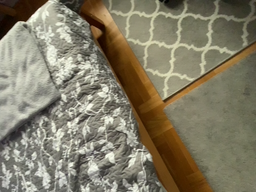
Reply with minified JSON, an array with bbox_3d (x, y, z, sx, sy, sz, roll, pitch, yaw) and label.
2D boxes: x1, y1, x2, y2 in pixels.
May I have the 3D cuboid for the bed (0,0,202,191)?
[{"bbox_3d":[-0.330,0.610,1.380,1.300,0.520,2.110,-34,76,20],"label":"bed"}]
